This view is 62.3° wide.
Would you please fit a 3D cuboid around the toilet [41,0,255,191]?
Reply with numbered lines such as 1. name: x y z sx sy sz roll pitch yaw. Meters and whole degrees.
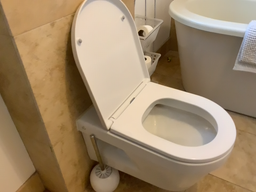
1. toilet: 0.120 0.020 0.800 0.570 0.700 0.400 17 40 23

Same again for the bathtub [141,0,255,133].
1. bathtub: 1.090 -0.220 1.400 1.790 0.620 0.860 17 40 23
